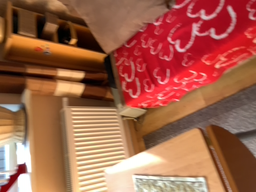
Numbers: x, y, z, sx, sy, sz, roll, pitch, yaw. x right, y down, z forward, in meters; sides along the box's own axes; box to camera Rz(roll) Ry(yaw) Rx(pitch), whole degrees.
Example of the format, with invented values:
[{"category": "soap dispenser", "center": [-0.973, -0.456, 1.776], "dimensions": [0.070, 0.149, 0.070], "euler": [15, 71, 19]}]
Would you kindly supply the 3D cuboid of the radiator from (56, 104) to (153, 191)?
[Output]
[{"category": "radiator", "center": [-0.180, 0.440, 1.680], "dimensions": [0.140, 0.660, 0.740], "euler": [-36, 60, 44]}]
